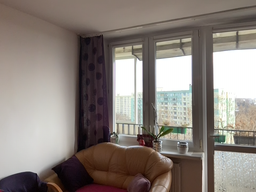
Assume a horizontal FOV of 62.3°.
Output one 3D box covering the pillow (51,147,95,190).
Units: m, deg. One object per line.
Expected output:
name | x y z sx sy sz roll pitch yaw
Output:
pillow | -0.690 0.900 2.690 0.180 0.400 0.380 -44 -20 21
